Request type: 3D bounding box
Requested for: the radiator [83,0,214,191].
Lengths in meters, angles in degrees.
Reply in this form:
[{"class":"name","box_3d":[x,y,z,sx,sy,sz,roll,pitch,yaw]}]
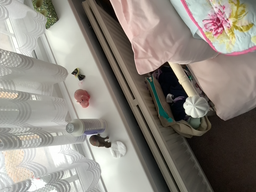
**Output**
[{"class":"radiator","box_3d":[0.130,0.050,1.060,0.060,0.490,1.080,-29,75,19]}]
